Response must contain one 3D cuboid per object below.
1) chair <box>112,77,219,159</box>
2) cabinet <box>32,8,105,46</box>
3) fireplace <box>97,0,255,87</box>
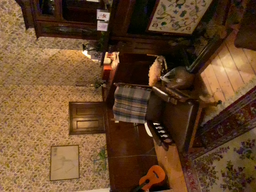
[{"bbox_3d":[0.390,0.220,2.710,0.840,1.000,0.660,-122,36,-62],"label":"chair"},{"bbox_3d":[-0.700,-0.810,2.560,0.390,0.780,0.120,115,150,-56],"label":"cabinet"},{"bbox_3d":[0.400,-0.960,2.300,1.960,1.190,0.780,115,150,-56],"label":"fireplace"}]
